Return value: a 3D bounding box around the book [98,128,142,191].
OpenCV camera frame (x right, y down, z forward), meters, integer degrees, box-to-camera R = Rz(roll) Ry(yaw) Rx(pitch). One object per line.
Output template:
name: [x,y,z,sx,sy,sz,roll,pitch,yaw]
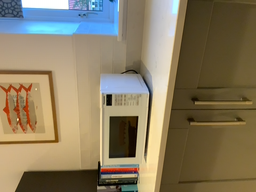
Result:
book: [-0.070,0.460,1.470,0.300,0.260,0.360,-104,16,-64]
